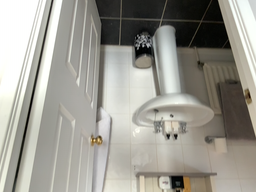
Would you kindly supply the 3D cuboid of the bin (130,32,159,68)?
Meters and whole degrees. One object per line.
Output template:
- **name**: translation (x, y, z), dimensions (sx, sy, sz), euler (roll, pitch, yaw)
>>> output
- **bin**: translation (0.140, -0.410, 1.910), dimensions (0.210, 0.250, 0.180), euler (3, 154, -8)

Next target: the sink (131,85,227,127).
- **sink**: translation (0.330, 0.090, 1.560), dimensions (0.580, 0.160, 0.420), euler (0, 155, -3)

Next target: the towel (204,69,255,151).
- **towel**: translation (0.950, 0.110, 1.750), dimensions (0.480, 0.640, 0.190), euler (1, 155, -4)
